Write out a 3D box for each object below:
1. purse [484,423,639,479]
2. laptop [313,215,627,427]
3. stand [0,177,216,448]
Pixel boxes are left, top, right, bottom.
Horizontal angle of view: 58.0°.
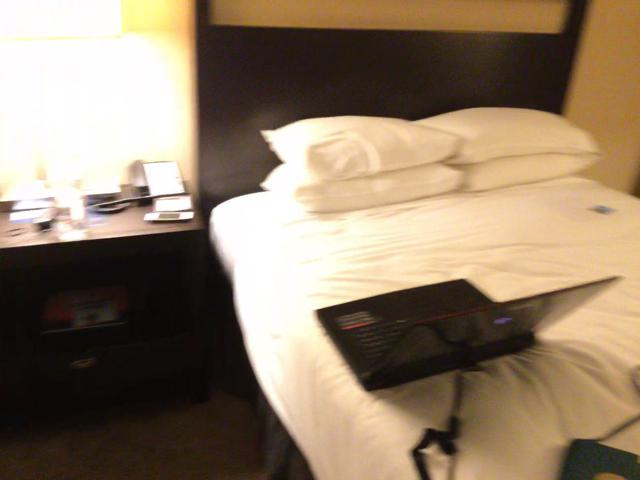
[{"bbox_3d":[0.400,0.370,0.860,0.220,0.040,0.210,-2,21,-19],"label":"purse"},{"bbox_3d":[0.270,0.130,1.180,0.460,0.250,0.370,-2,21,-19],"label":"laptop"},{"bbox_3d":[-0.780,0.200,1.940,0.770,0.710,0.510,-2,21,-19],"label":"stand"}]
